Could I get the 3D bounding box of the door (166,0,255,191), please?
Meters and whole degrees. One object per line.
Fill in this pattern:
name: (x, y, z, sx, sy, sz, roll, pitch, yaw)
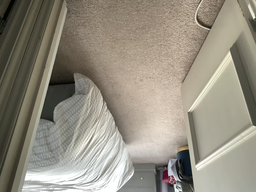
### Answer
door: (0.440, 0.600, 0.760, 0.110, 2.330, 0.930, 6, 149, -9)
